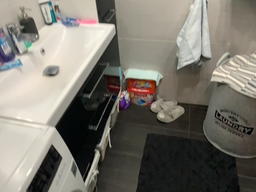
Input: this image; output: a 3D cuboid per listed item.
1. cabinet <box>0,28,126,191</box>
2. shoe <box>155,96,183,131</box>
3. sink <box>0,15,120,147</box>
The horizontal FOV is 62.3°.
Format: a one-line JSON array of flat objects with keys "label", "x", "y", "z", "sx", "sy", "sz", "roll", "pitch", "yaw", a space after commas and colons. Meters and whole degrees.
[{"label": "cabinet", "x": -0.340, "y": 0.120, "z": 1.320, "sx": 0.430, "sy": 0.760, "sz": 0.790, "roll": 7, "pitch": 42, "yaw": 12}, {"label": "shoe", "x": 0.350, "y": 0.150, "z": 1.840, "sx": 0.220, "sy": 0.160, "sz": 0.250, "roll": 3, "pitch": 42, "yaw": 8}, {"label": "sink", "x": -0.360, "y": -0.160, "z": 1.070, "sx": 0.430, "sy": 0.180, "sz": 0.790, "roll": 7, "pitch": 42, "yaw": 12}]
